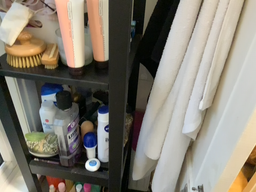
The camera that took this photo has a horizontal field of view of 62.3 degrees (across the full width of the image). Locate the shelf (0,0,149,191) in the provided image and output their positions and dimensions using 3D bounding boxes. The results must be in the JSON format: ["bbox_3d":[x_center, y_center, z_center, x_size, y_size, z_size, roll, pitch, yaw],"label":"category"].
[{"bbox_3d":[-0.180,0.150,0.980,0.400,1.720,0.610,7,36,3],"label":"shelf"}]
